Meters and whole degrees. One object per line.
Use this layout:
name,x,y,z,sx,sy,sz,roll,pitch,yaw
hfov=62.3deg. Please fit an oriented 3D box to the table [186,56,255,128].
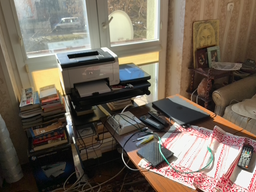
table,1.110,-0.070,2.420,0.870,0.620,0.220,-13,27,-22
